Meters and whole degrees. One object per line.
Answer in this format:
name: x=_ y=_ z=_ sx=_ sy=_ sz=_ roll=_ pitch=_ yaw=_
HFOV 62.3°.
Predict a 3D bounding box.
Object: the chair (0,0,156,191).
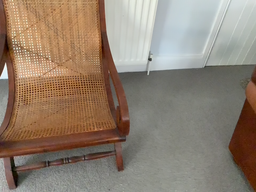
chair: x=-0.390 y=-0.140 z=1.160 sx=0.690 sy=0.890 sz=0.970 roll=-4 pitch=44 yaw=-11
